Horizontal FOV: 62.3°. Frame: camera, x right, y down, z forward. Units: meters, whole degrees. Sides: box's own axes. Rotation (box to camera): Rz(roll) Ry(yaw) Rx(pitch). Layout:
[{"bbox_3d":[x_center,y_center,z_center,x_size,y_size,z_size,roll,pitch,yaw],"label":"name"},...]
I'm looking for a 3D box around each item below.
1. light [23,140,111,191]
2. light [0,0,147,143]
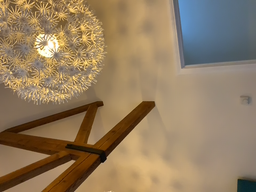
[{"bbox_3d":[-0.720,1.530,2.770,0.980,2.020,0.850,-18,-71,-18],"label":"light"},{"bbox_3d":[-1.130,-0.380,2.180,1.380,2.080,1.090,47,-129,-47],"label":"light"}]
